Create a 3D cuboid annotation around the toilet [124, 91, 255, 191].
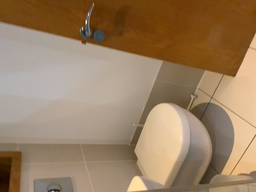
[{"bbox_3d":[0.350,0.340,1.370,0.420,0.490,0.560,53,129,52],"label":"toilet"}]
